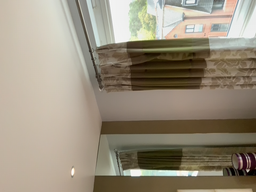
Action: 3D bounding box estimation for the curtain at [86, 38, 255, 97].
[{"bbox_3d":[0.790,-0.230,1.870,0.590,2.210,0.080,84,-173,-51],"label":"curtain"}]
